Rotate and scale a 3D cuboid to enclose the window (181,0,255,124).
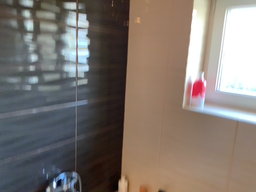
[{"bbox_3d":[0.760,-0.240,1.170,0.760,0.740,0.330,12,14,36],"label":"window"}]
